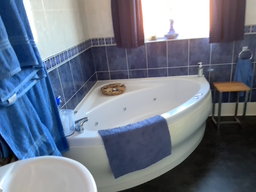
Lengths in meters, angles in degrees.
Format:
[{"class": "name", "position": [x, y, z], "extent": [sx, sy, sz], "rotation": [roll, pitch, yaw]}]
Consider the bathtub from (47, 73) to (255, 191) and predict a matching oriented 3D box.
[{"class": "bathtub", "position": [0.220, 0.290, 2.180], "extent": [1.420, 0.590, 1.390], "rotation": [-2, 23, 8]}]

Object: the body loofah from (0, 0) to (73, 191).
[{"class": "body loofah", "position": [-0.590, -0.170, 1.090], "extent": [0.170, 1.270, 0.520], "rotation": [0, 23, 12]}]

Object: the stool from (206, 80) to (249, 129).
[{"class": "stool", "position": [1.150, 0.100, 2.500], "extent": [0.360, 0.490, 0.280], "rotation": [-1, 23, 10]}]
